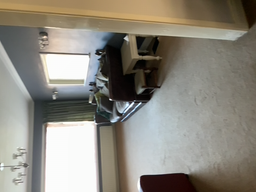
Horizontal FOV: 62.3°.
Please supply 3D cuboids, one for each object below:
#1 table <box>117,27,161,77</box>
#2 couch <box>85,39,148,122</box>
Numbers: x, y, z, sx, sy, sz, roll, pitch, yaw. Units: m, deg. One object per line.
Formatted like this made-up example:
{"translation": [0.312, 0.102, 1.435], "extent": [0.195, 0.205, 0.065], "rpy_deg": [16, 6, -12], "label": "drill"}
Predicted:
{"translation": [0.150, -0.700, 3.500], "extent": [0.610, 0.500, 0.560], "rpy_deg": [131, 137, -66], "label": "table"}
{"translation": [-0.400, -0.160, 4.550], "extent": [2.100, 0.870, 1.050], "rpy_deg": [132, 136, -67], "label": "couch"}
